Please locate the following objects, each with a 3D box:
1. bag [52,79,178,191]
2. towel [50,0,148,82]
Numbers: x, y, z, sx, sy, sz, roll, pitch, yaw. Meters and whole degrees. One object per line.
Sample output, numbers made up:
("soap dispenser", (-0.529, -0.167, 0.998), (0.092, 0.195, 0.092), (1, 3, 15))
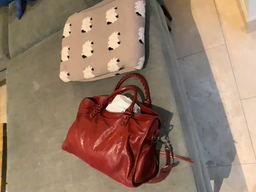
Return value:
("bag", (-0.060, 0.130, 0.780), (0.420, 0.110, 0.350), (5, 83, 31))
("towel", (-0.140, -0.250, 0.940), (0.470, 0.070, 0.320), (-5, 78, 29))
